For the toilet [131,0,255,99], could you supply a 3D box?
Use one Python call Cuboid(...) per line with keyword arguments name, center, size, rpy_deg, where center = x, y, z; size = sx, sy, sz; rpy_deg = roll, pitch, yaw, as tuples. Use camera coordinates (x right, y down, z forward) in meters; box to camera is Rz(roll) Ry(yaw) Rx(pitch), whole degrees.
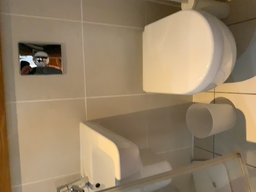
Cuboid(name="toilet", center=(0.370, -0.210, 1.160), size=(0.550, 0.490, 0.380), rpy_deg=(7, 100, 60))
